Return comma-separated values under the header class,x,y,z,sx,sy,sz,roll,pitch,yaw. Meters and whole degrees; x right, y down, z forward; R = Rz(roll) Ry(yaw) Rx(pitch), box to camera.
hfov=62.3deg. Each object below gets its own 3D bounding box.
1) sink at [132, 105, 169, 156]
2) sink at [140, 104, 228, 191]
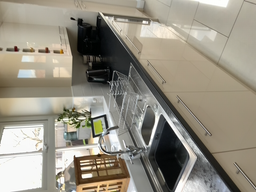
class,x,y,z,sx,sy,sz,roll,pitch,yaw
sink,0.150,0.250,1.550,0.210,0.140,0.290,-118,33,-51
sink,0.290,0.360,1.290,0.390,0.230,0.480,-118,33,-51
